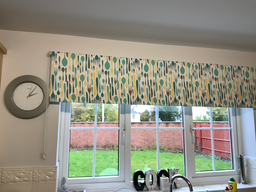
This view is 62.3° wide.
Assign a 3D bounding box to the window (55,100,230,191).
[{"bbox_3d":[0.210,0.450,1.980,1.650,0.770,0.070,2,-8,-15],"label":"window"}]
